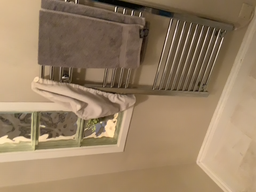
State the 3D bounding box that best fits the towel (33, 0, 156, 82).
[{"bbox_3d":[-0.150,-0.240,0.950,0.120,0.500,0.310,-134,50,-57],"label":"towel"}]
